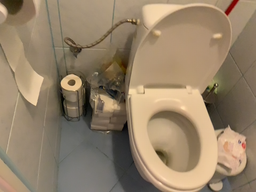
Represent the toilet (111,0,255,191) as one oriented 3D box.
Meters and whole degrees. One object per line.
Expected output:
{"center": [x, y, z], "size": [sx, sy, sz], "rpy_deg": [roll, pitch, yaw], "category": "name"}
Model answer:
{"center": [0.170, 0.060, 0.960], "size": [0.380, 0.810, 0.680], "rpy_deg": [-1, 53, -11], "category": "toilet"}
